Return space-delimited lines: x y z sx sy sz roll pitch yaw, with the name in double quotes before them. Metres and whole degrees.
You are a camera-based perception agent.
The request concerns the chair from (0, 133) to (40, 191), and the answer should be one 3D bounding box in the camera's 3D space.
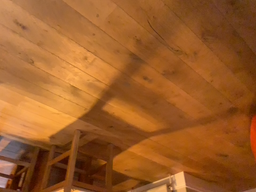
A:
"chair" -1.140 0.800 1.760 0.440 0.820 0.460 28 131 -31
